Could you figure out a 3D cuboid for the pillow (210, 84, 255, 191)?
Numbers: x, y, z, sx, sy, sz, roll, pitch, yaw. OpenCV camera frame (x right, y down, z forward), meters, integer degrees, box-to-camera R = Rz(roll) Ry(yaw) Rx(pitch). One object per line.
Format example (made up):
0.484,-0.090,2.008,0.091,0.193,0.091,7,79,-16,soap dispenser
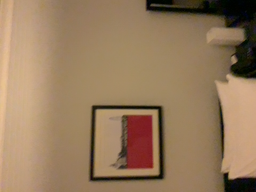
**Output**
0.800,0.250,1.390,0.200,0.390,0.630,-17,78,63,pillow
